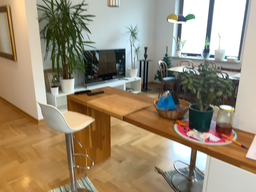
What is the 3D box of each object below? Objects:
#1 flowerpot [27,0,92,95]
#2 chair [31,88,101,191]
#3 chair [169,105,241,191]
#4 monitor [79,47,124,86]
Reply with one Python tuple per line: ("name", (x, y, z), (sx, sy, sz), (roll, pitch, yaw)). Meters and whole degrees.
("flowerpot", (-1.220, -1.030, 3.870), (0.820, 1.790, 0.670), (-15, 23, -42))
("chair", (-0.490, 0.490, 1.770), (0.350, 1.010, 0.370), (14, 21, 38))
("chair", (0.710, 0.530, 2.070), (0.470, 0.800, 0.350), (-1, 17, -6))
("monitor", (-0.540, -0.690, 4.730), (0.060, 0.730, 1.240), (16, 22, 41))
